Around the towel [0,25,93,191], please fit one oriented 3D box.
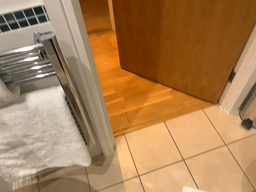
[{"bbox_3d":[-0.430,0.150,0.820,0.420,0.770,0.160,-16,54,-7],"label":"towel"}]
